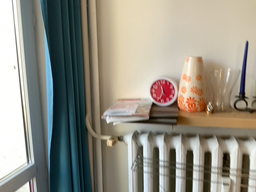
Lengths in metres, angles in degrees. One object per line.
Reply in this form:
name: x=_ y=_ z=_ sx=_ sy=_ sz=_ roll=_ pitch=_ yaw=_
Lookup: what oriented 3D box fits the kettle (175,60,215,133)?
kettle: x=0.320 y=-0.010 z=1.040 sx=0.160 sy=0.330 sz=0.170 roll=2 pitch=10 yaw=14
